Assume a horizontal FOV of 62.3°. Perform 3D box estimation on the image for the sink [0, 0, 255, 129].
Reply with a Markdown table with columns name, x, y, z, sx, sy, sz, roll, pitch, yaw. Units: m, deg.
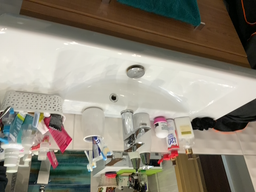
| name | x | y | z | sx | sy | sz | roll | pitch | yaw |
| --- | --- | --- | --- | --- | --- | --- | --- | --- | --- |
| sink | 0.040 | -0.040 | 0.730 | 0.870 | 0.130 | 0.370 | 8 | 149 | -22 |
